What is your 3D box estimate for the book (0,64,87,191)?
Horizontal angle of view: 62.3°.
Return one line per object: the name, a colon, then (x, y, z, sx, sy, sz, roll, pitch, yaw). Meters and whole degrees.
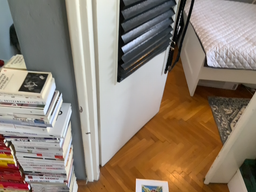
book: (-0.620, 0.270, 1.000, 0.770, 0.880, 0.210, 4, 42, -2)
